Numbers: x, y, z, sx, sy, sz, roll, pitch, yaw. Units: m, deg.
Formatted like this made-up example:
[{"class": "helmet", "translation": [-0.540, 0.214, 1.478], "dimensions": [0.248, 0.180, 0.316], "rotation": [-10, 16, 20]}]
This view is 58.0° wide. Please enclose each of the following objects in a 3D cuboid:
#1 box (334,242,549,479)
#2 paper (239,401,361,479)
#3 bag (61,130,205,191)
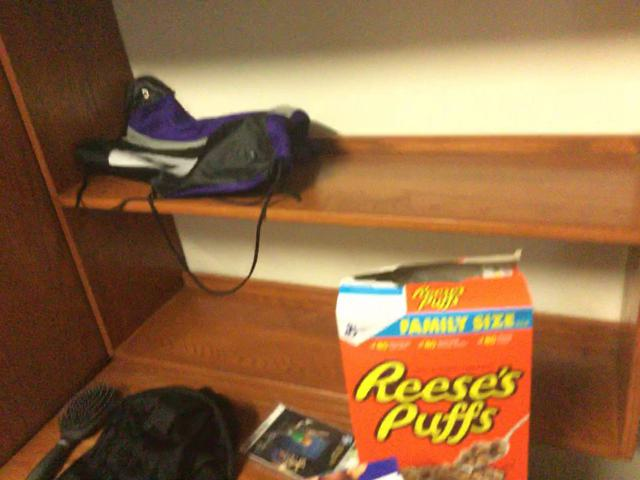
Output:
[{"class": "box", "translation": [0.130, 0.180, 0.680], "dimensions": [0.200, 0.320, 0.130], "rotation": [-4, 29, 4]}, {"class": "paper", "translation": [-0.030, 0.300, 0.870], "dimensions": [0.160, 0.020, 0.090], "rotation": [9, 28, 30]}, {"class": "bag", "translation": [-0.320, -0.140, 0.980], "dimensions": [0.240, 0.050, 0.110], "rotation": [13, 30, 37]}]
